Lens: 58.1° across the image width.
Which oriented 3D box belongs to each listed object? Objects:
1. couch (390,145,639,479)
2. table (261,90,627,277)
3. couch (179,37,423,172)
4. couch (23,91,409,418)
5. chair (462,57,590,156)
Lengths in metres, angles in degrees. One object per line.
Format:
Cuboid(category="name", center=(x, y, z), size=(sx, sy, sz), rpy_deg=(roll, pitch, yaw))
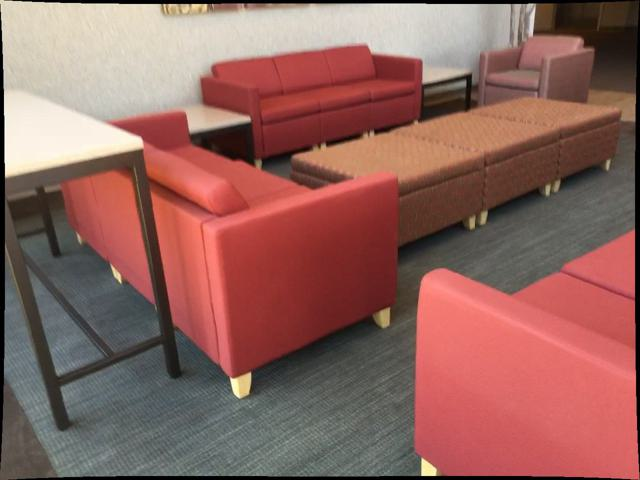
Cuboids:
Cuboid(category="couch", center=(0.978, 0.280, 1.640), size=(1.349, 0.771, 0.830), rpy_deg=(-19, 26, -34))
Cuboid(category="table", center=(0.889, -0.501, 3.640), size=(2.388, 0.531, 0.860), rpy_deg=(-19, 26, -34))
Cuboid(category="couch", center=(-0.090, -1.282, 5.100), size=(1.968, 0.831, 0.880), rpy_deg=(-19, 27, -35))
Cuboid(category="couch", center=(-0.619, -0.170, 2.780), size=(0.879, 0.841, 2.019), rpy_deg=(-19, 26, -34))
Cuboid(category="chair", center=(1.987, -1.332, 5.610), size=(0.849, 0.771, 0.819), rpy_deg=(-22, 28, -38))
